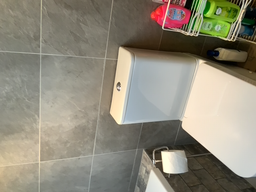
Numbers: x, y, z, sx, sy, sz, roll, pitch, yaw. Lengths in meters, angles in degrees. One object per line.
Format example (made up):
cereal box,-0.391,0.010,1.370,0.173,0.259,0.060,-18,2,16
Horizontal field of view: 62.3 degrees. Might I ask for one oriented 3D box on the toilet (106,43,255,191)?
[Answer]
toilet,0.400,0.050,1.020,0.640,0.810,0.400,-134,49,-56
